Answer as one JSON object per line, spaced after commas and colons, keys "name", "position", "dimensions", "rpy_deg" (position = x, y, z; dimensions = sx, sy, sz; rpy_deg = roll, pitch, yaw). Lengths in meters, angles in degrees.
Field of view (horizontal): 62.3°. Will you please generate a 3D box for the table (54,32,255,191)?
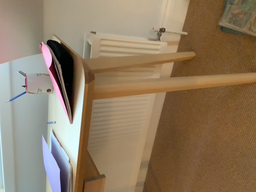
{"name": "table", "position": [0.030, 0.360, 1.130], "dimensions": [0.480, 0.710, 1.210], "rpy_deg": [42, 128, 52]}
